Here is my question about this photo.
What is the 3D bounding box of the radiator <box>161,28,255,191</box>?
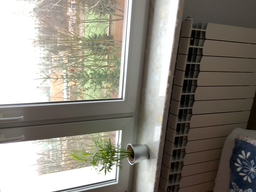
[{"bbox_3d":[0.560,0.160,1.340,0.180,0.550,1.080,-143,54,-61],"label":"radiator"}]
